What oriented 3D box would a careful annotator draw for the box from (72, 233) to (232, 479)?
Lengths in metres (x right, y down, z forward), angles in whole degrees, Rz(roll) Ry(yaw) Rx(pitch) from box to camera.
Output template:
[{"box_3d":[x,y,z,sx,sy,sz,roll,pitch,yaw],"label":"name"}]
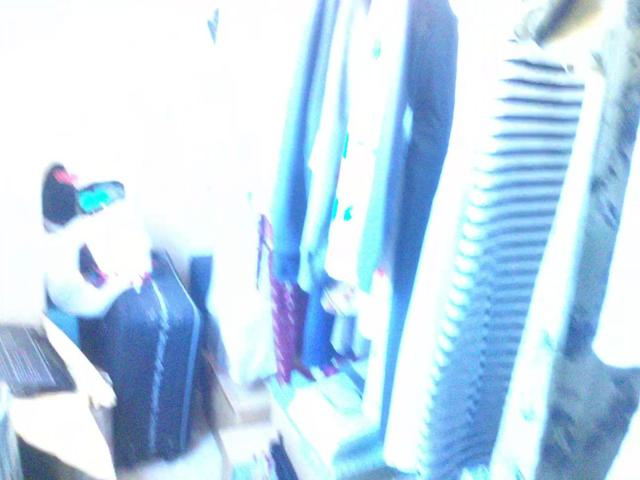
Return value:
[{"box_3d":[-0.670,0.380,2.210,0.420,0.610,0.760,-4,18,-28],"label":"box"}]
